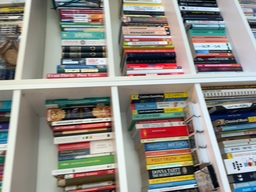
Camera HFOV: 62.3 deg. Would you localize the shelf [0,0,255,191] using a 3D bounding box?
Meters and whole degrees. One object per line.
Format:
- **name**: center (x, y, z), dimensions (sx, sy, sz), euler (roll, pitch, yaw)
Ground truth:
- **shelf**: center (0.270, -0.020, 0.930), dimensions (0.310, 2.030, 1.610), euler (110, 155, -64)
